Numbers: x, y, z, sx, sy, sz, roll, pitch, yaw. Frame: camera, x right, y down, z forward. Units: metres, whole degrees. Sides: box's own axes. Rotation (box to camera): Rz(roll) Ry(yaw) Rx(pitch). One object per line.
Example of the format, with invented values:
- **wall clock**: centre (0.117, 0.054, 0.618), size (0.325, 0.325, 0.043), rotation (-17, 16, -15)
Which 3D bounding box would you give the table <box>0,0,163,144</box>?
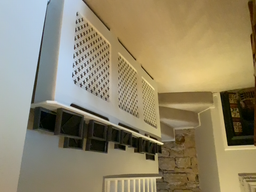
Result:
- **table**: centre (-0.090, -0.130, 2.110), size (0.200, 0.920, 2.400), rotation (-8, 159, 22)
